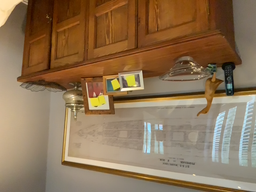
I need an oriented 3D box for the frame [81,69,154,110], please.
[{"bbox_3d":[-0.100,-0.030,1.790,0.570,0.260,0.280,-5,170,38],"label":"frame"}]
